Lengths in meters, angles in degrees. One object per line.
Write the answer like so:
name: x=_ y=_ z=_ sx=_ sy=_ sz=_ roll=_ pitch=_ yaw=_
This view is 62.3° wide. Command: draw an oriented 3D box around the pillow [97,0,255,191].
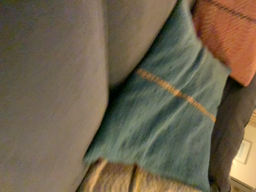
pillow: x=0.170 y=0.020 z=0.570 sx=0.410 sy=0.210 sz=0.390 roll=-61 pitch=164 yaw=-4
